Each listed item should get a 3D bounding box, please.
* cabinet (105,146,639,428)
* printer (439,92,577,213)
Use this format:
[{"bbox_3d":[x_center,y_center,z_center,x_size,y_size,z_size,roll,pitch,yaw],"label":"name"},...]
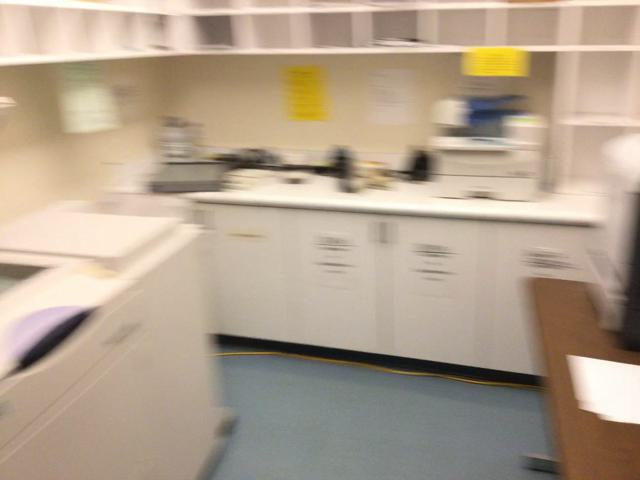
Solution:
[{"bbox_3d":[0.370,0.120,2.800,2.640,0.930,0.690,5,19,16],"label":"cabinet"},{"bbox_3d":[0.810,-0.410,2.560,0.490,0.420,0.530,5,19,16],"label":"printer"}]
